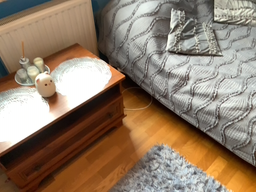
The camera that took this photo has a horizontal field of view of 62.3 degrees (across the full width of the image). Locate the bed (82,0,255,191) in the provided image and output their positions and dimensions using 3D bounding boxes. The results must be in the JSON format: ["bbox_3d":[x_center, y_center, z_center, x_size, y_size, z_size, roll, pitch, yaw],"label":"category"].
[{"bbox_3d":[0.890,-0.220,1.710,1.400,0.480,2.230,-34,54,-28],"label":"bed"}]
